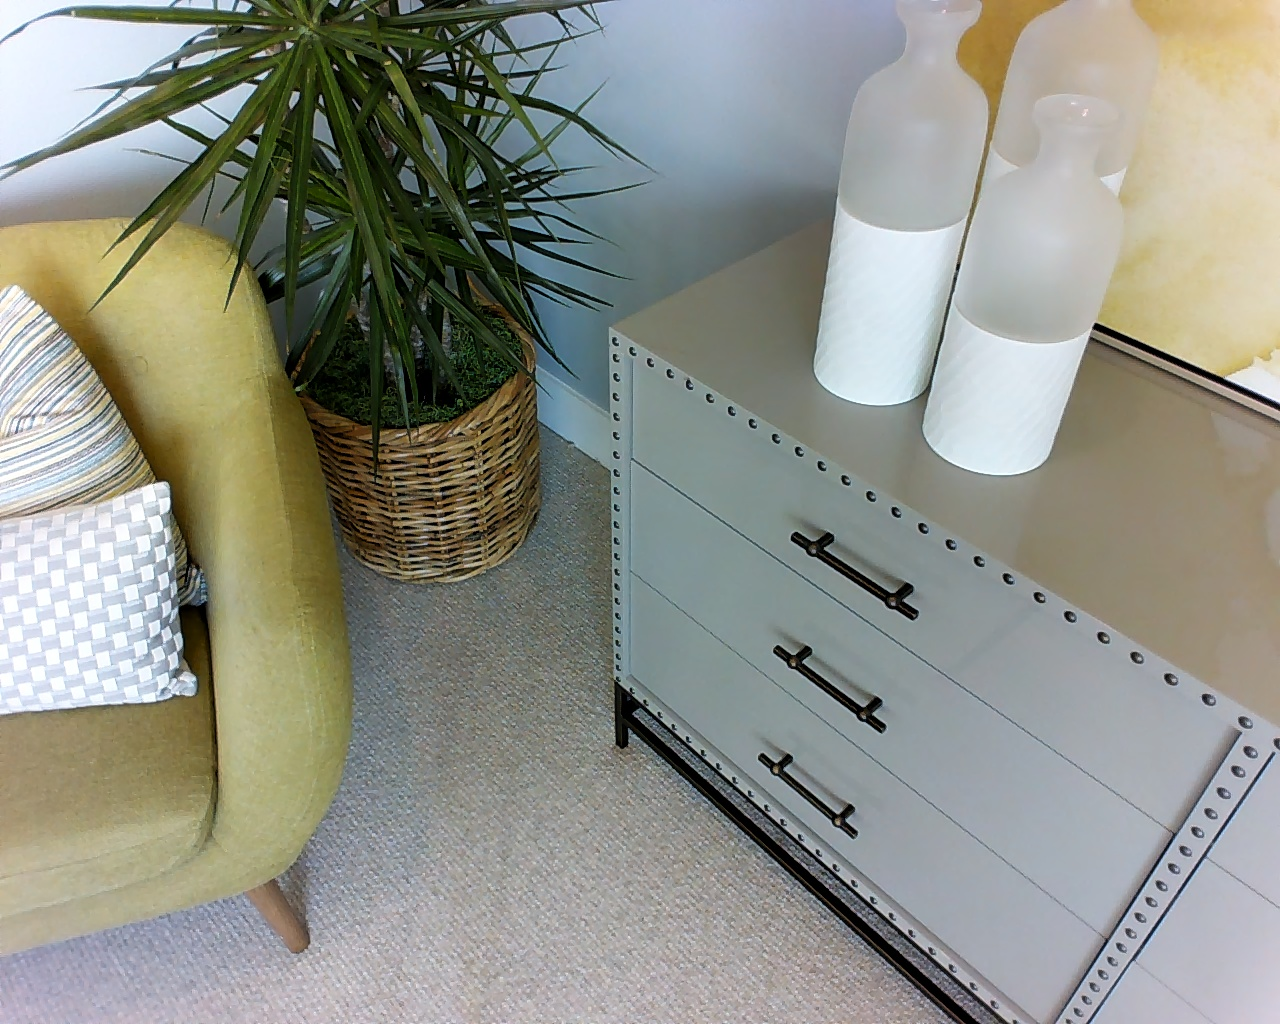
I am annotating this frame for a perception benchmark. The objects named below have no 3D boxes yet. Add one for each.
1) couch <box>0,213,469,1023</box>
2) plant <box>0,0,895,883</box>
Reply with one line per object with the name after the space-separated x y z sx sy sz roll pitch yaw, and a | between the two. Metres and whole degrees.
-0.790 0.210 1.410 0.930 0.840 0.690 -11 43 -13 | couch
-0.350 -0.540 1.450 0.890 1.670 0.980 -32 51 -31 | plant
